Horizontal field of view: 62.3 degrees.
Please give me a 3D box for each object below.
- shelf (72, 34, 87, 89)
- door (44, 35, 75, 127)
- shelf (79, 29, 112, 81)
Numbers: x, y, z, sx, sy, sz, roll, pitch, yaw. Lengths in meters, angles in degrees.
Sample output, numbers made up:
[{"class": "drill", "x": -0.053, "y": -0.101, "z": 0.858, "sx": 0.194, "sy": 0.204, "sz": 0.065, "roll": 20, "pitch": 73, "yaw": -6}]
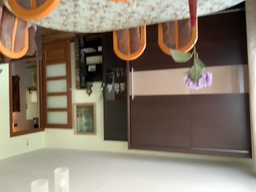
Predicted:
[{"class": "shelf", "x": -1.060, "y": -0.740, "z": 4.640, "sx": 0.220, "sy": 1.140, "sz": 0.210, "roll": -1, "pitch": 179, "yaw": 23}, {"class": "door", "x": -1.600, "y": -0.320, "z": 4.920, "sx": 0.790, "sy": 2.050, "sz": 0.080, "roll": -1, "pitch": 179, "yaw": 25}, {"class": "shelf", "x": -0.690, "y": -0.830, "z": 4.450, "sx": 0.620, "sy": 0.980, "sz": 0.270, "roll": -1, "pitch": 179, "yaw": 23}]
